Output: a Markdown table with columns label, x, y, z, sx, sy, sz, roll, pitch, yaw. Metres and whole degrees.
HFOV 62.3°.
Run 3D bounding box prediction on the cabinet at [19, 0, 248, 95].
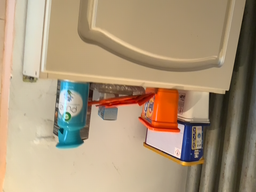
| label | x | y | z | sx | sy | sz | roll | pitch | yaw |
| --- | --- | --- | --- | --- | --- | --- | --- | --- | --- |
| cabinet | 0.030 | -0.240 | 0.660 | 0.600 | 0.410 | 0.350 | 2 | -174 | -35 |

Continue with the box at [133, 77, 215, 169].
| label | x | y | z | sx | sy | sz | roll | pitch | yaw |
| --- | --- | --- | --- | --- | --- | --- | --- | --- | --- |
| box | 0.160 | 0.080 | 0.800 | 0.140 | 0.280 | 0.240 | 2 | -174 | -36 |
